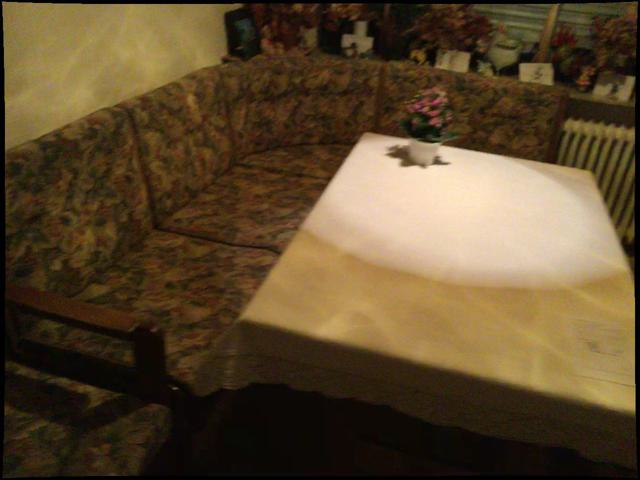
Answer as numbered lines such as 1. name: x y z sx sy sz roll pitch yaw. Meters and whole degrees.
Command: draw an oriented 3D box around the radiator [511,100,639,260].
1. radiator: 1.588 -0.270 2.970 1.019 0.670 0.220 14 31 13
